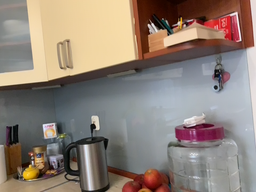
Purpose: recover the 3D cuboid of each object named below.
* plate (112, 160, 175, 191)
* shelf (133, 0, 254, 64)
[{"bbox_3d":[0.070,0.420,0.980,0.230,0.170,0.160,-5,2,44],"label":"plate"},{"bbox_3d":[0.200,-0.500,0.720,0.280,0.730,0.280,-5,2,44],"label":"shelf"}]
